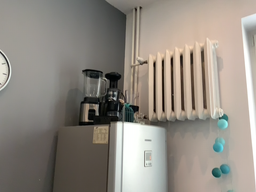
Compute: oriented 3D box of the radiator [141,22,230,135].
[{"bbox_3d":[0.410,-0.090,1.630,0.600,0.760,0.180,-7,-12,35],"label":"radiator"}]
